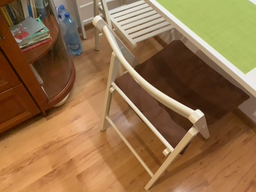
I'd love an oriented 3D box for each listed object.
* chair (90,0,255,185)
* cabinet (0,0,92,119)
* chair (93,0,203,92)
[{"bbox_3d":[0.190,0.010,1.000,0.490,0.730,0.450,-30,64,-19],"label":"chair"},{"bbox_3d":[-0.530,-0.370,1.130,0.320,0.870,0.590,-31,64,-20],"label":"cabinet"},{"bbox_3d":[0.090,-0.480,1.300,0.440,0.740,0.440,-28,63,-18],"label":"chair"}]
